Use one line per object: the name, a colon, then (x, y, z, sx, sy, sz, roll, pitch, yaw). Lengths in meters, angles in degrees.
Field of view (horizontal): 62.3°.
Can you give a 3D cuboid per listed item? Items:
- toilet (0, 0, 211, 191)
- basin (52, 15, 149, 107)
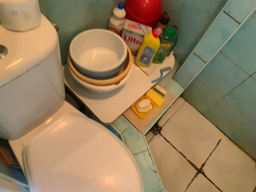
toilet: (-0.250, 0.200, 0.840, 0.720, 0.750, 0.370, 43, 62, 10)
basin: (-0.130, -0.180, 1.040, 0.300, 0.150, 0.330, 44, 63, 11)
